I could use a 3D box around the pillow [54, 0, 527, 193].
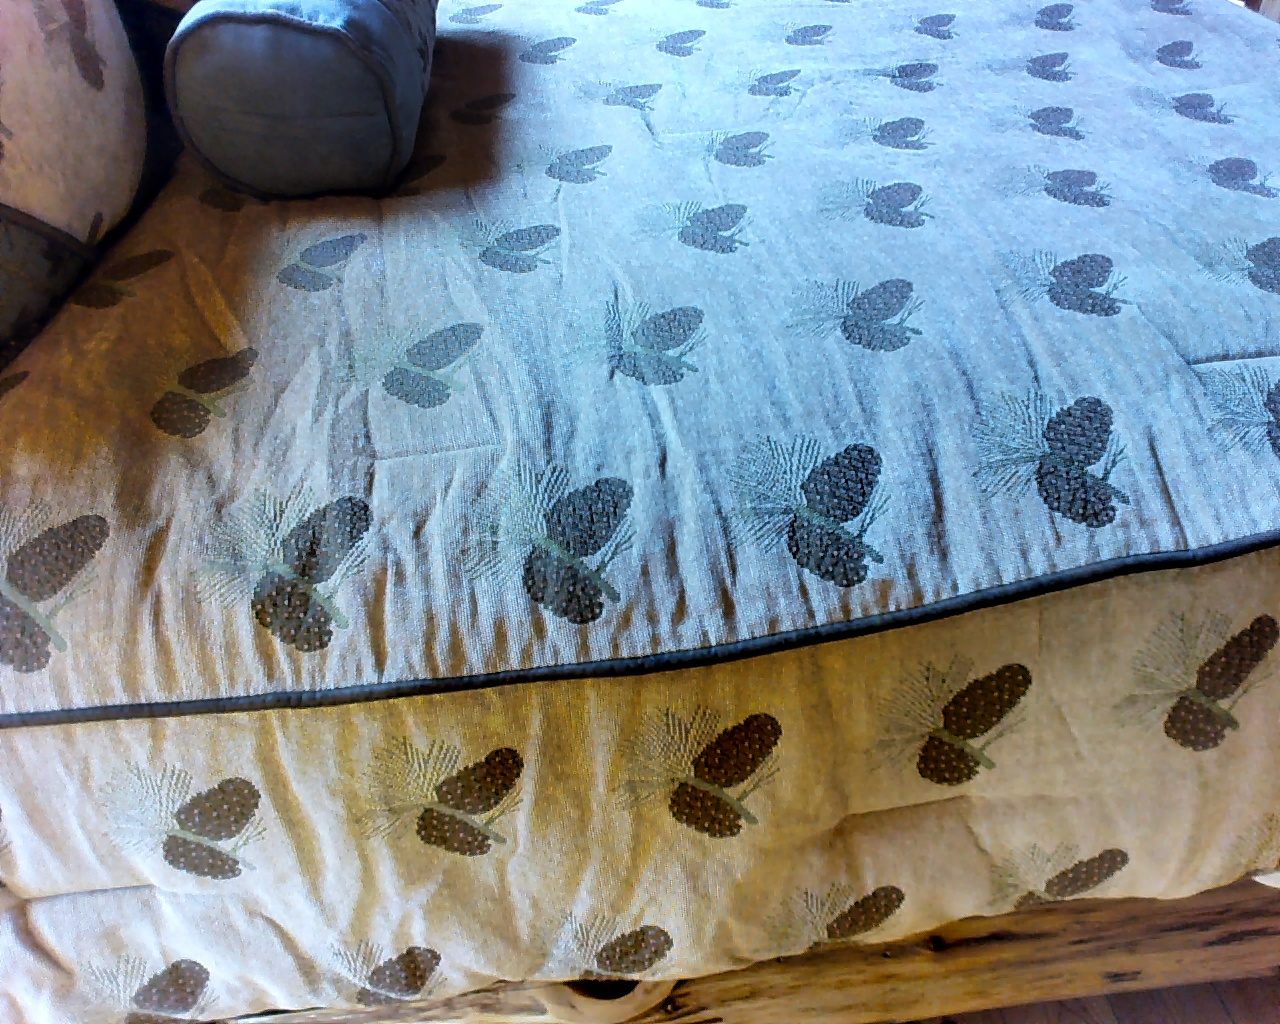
[{"bbox_3d":[-0.320,-0.560,1.160,0.360,0.200,0.570,-2,40,-2],"label":"pillow"}]
